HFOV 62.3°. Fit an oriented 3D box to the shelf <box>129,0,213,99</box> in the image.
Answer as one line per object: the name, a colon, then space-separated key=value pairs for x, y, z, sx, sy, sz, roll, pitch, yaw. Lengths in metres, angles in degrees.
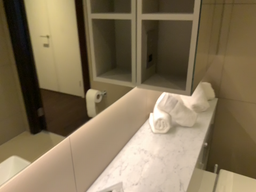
shelf: x=0.170 y=-0.530 z=0.740 sx=0.260 sy=1.040 sz=0.230 roll=11 pitch=26 yaw=25
